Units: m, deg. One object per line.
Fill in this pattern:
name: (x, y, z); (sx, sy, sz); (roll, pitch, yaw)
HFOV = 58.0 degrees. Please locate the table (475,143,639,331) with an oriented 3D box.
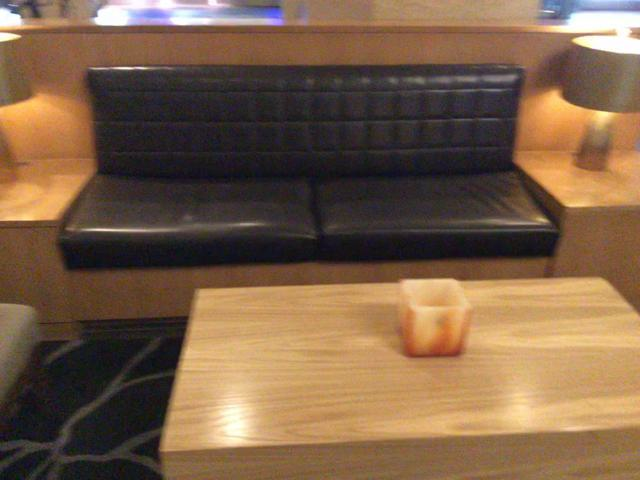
table: (1.160, -0.050, 2.400); (0.780, 0.570, 0.640); (-1, 21, -5)

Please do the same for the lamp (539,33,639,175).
lamp: (1.180, -0.560, 2.340); (0.370, 0.510, 0.360); (-1, 21, -5)

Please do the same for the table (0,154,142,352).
table: (-1.180, 0.020, 2.280); (0.750, 0.580, 0.630); (-1, 21, -5)

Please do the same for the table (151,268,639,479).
table: (0.270, 0.460, 1.530); (1.240, 0.510, 0.660); (-1, 21, -5)
